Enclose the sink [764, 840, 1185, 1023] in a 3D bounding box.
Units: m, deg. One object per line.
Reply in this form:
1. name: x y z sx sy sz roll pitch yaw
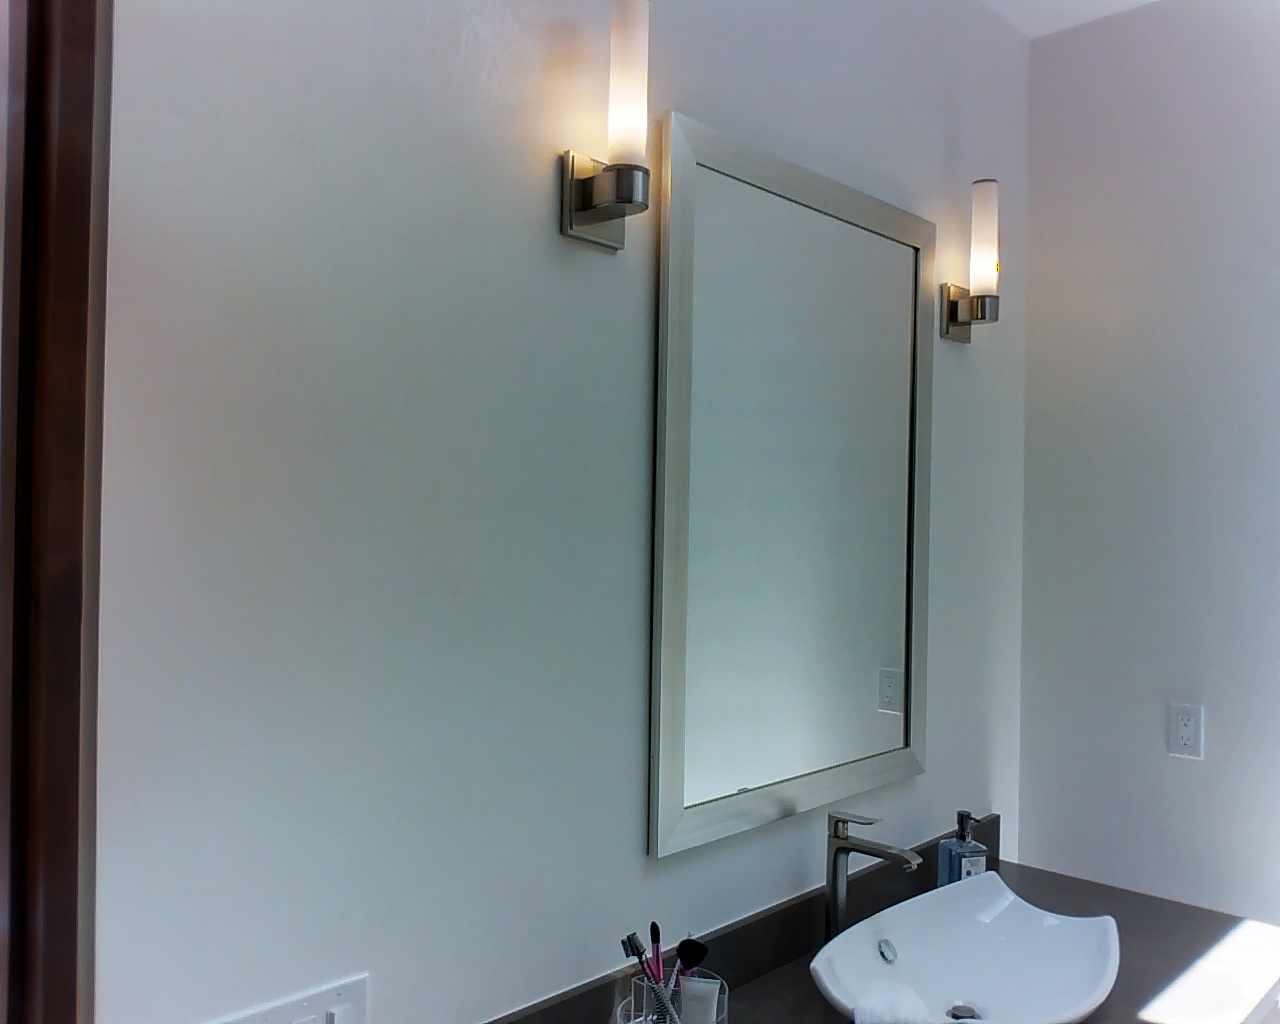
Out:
1. sink: 0.550 0.710 1.700 0.380 0.160 0.660 1 0 44
